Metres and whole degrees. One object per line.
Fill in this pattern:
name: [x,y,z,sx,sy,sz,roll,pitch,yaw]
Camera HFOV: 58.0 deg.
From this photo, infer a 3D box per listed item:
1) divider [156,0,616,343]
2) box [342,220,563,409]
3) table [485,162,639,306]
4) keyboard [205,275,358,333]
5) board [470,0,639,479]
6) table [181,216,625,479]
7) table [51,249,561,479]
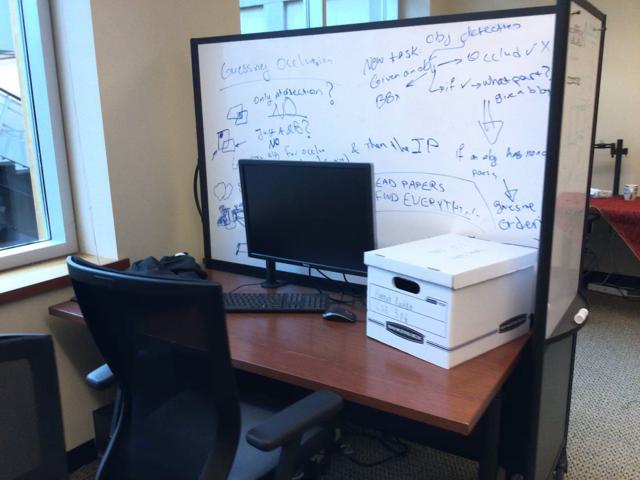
divider: [0.170,-0.250,2.000,1.510,1.070,0.200,1,16,28]
box: [0.400,0.180,1.730,0.460,0.350,0.440,-18,18,-38]
table: [2.000,-0.080,3.860,1.500,0.750,0.840,4,18,37]
keyboard: [-0.120,0.220,2.030,0.500,0.070,0.270,-6,14,4]
board: [0.780,0.140,1.740,0.290,1.640,0.760,4,18,37]
table: [0.330,0.400,2.480,1.590,0.770,0.890,4,18,37]
table: [-0.090,0.610,2.000,1.520,0.790,0.770,8,20,36]
